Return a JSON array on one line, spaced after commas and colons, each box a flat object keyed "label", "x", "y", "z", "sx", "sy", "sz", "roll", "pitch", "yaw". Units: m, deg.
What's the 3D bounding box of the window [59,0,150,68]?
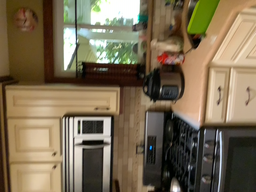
[{"label": "window", "x": -0.220, "y": -0.750, "z": 2.010, "sx": 0.090, "sy": 0.830, "sz": 0.920, "roll": -136, "pitch": 48, "yaw": -80}]
